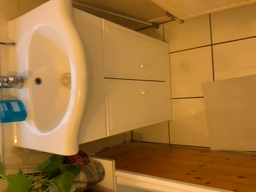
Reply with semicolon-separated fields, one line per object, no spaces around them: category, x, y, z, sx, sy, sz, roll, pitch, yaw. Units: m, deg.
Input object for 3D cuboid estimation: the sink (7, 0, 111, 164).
sink;-0.290;-0.060;0.840;0.420;0.150;0.560;-4;89;36
